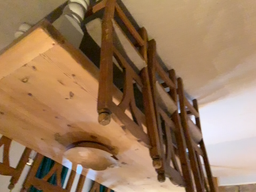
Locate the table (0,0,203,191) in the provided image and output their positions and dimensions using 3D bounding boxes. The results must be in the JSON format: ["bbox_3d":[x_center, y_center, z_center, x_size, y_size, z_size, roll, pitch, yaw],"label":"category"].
[{"bbox_3d":[-0.190,0.080,1.720,0.960,0.800,1.740,-18,136,28],"label":"table"}]

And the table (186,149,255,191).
[{"bbox_3d":[1.730,1.290,3.000,1.510,0.750,0.800,-18,136,28],"label":"table"}]
